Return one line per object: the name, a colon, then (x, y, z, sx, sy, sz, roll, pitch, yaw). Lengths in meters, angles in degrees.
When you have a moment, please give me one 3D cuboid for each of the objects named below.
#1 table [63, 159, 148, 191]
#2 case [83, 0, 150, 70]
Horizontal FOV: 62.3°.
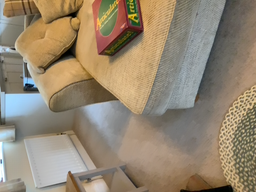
table: (-0.200, 0.830, 1.650, 0.420, 0.490, 0.410, 30, 115, 52)
case: (-0.080, -0.350, 0.960, 0.370, 0.080, 0.330, -32, 64, 52)
